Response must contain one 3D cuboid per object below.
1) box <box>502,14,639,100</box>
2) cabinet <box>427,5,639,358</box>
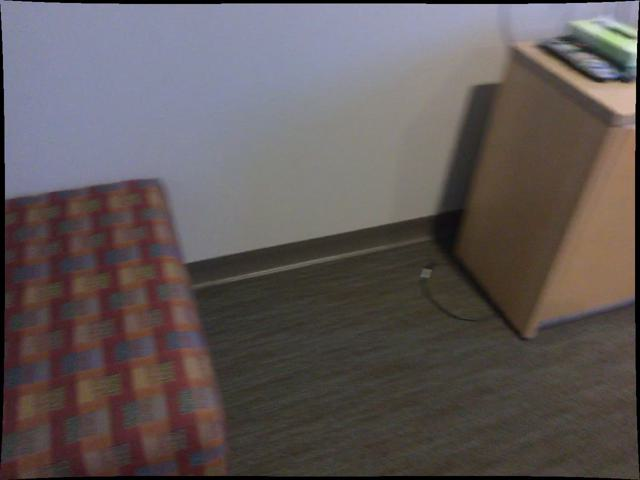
[{"bbox_3d":[0.659,-0.481,1.480,0.190,0.070,0.360,-12,41,-17],"label":"box"},{"bbox_3d":[1.048,-0.240,1.780,1.208,0.791,0.520,-12,41,-17],"label":"cabinet"}]
